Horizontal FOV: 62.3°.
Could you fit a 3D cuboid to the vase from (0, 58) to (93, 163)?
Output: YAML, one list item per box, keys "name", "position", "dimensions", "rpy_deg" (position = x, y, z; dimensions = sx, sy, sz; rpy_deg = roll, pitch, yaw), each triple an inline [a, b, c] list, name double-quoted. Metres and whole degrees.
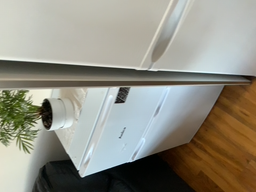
- name: "vase"
  position: [-0.400, 0.040, 0.910]
  dimensions: [0.280, 0.330, 0.300]
  rpy_deg: [40, 120, 38]
